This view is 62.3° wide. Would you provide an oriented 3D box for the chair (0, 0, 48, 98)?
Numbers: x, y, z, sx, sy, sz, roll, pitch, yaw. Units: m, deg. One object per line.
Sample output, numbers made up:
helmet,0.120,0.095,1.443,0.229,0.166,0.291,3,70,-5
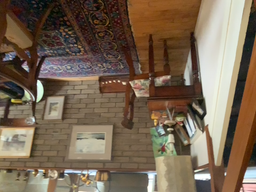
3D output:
chair,-1.000,-0.470,1.560,0.500,0.870,0.440,-3,159,11
